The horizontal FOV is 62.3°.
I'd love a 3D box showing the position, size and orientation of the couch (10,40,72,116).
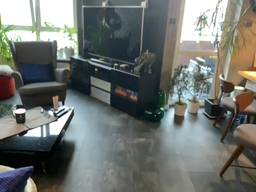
[{"bbox_3d":[-1.400,-0.350,3.410,0.680,0.950,0.910,-10,24,-32],"label":"couch"}]
